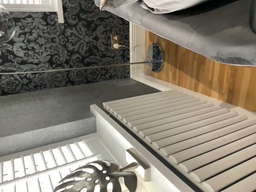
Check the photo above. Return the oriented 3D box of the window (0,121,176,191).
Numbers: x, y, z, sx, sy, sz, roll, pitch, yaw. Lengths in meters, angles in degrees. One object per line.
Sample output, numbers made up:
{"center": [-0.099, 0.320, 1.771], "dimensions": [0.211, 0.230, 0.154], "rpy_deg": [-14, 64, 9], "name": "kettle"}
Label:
{"center": [-0.470, 0.480, 0.740], "dimensions": [1.180, 1.270, 0.100], "rpy_deg": [27, 123, 56], "name": "window"}
